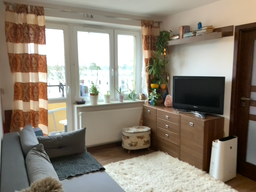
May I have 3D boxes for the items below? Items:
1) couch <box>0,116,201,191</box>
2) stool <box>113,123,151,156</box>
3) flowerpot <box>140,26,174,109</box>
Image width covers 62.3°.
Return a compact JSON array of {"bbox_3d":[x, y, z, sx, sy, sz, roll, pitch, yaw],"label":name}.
[{"bbox_3d":[-0.550,0.850,1.900,1.010,0.800,2.240,-4,9,-30],"label":"couch"},{"bbox_3d":[0.070,0.780,3.930,0.530,0.410,0.470,-4,9,-30],"label":"stool"},{"bbox_3d":[0.530,-0.520,4.010,0.420,1.450,0.440,-4,9,-31],"label":"flowerpot"}]
